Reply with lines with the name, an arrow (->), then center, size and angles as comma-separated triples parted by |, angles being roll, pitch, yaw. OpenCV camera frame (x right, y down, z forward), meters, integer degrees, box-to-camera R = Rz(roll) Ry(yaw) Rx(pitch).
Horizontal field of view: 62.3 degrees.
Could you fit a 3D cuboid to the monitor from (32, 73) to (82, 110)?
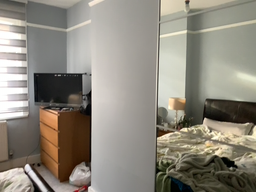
monitor -> -1.050, -0.080, 3.110 | 0.790, 0.520, 0.050 | 2, 5, 16
